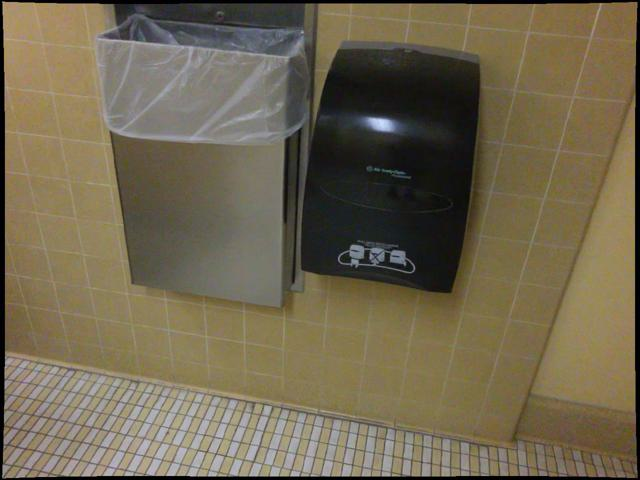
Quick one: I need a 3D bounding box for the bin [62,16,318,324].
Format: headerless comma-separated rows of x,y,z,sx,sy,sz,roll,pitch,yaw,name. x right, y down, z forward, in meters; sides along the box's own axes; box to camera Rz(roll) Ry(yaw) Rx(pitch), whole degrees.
-0.259,-0.150,1.340,0.459,0.631,0.220,8,34,9,bin

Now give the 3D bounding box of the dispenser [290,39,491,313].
0.130,-0.130,1.140,0.319,0.431,0.270,8,34,9,dispenser
